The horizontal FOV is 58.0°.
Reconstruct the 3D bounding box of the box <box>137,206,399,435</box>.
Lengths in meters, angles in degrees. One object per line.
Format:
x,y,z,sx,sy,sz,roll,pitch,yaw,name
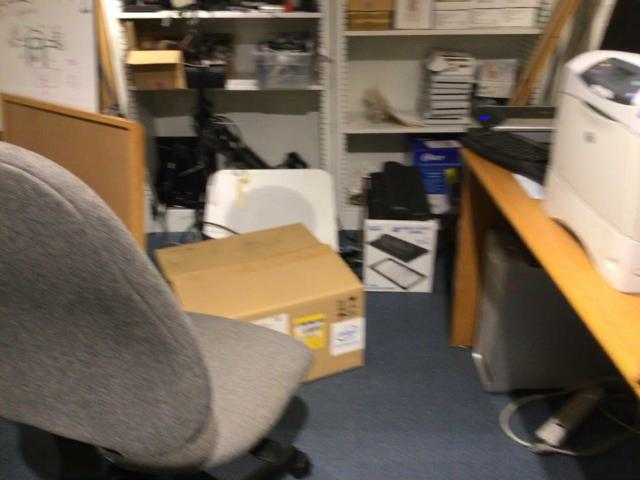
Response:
-0.210,0.220,2.060,0.710,0.360,0.690,-12,27,-21,box

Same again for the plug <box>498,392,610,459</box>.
0.680,0.540,1.700,0.240,0.050,0.190,-4,25,-5,plug

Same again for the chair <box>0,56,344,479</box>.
-0.290,0.280,1.090,0.550,1.120,0.650,4,25,12,chair
